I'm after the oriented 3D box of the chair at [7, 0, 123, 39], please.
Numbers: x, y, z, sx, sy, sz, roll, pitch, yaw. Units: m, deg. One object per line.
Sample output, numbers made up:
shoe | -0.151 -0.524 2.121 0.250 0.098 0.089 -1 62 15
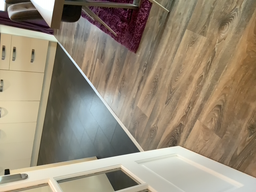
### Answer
chair | -0.540 -0.910 1.910 0.420 0.890 0.550 42 123 46
